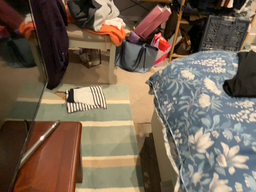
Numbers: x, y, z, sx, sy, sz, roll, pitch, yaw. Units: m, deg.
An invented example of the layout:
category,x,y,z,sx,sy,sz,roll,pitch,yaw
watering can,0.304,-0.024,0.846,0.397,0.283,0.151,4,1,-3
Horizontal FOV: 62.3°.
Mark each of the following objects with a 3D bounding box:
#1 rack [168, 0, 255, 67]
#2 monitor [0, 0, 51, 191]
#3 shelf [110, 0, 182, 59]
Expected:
category,x,y,z,sx,sy,sz,roll,pitch,yaw
rack,0.940,-1.020,1.770,0.810,1.490,0.530,2,46,-6
monitor,-0.340,0.090,0.490,0.040,0.580,0.850,3,46,-5
shelf,0.170,-1.000,1.970,0.620,1.340,0.320,1,46,-6
